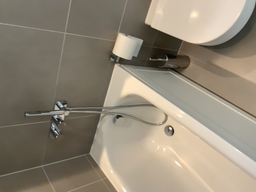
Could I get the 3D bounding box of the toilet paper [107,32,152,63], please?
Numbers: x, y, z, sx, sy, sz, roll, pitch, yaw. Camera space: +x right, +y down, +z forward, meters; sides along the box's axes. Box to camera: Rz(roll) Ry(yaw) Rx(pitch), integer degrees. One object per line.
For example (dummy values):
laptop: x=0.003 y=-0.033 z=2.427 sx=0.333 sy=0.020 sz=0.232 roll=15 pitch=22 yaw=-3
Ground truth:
toilet paper: x=0.010 y=-0.270 z=1.200 sx=0.090 sy=0.220 sz=0.130 roll=39 pitch=120 yaw=40
